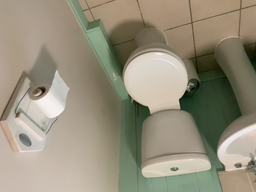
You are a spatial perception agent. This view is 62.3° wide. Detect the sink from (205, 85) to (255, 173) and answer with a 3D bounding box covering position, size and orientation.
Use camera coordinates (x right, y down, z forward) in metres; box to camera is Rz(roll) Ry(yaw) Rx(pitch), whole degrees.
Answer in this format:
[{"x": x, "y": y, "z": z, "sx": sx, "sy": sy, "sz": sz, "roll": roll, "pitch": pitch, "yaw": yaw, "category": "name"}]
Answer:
[{"x": 0.730, "y": 0.160, "z": 1.070, "sx": 0.580, "sy": 0.210, "sz": 0.460, "roll": -13, "pitch": 136, "yaw": 13, "category": "sink"}]
